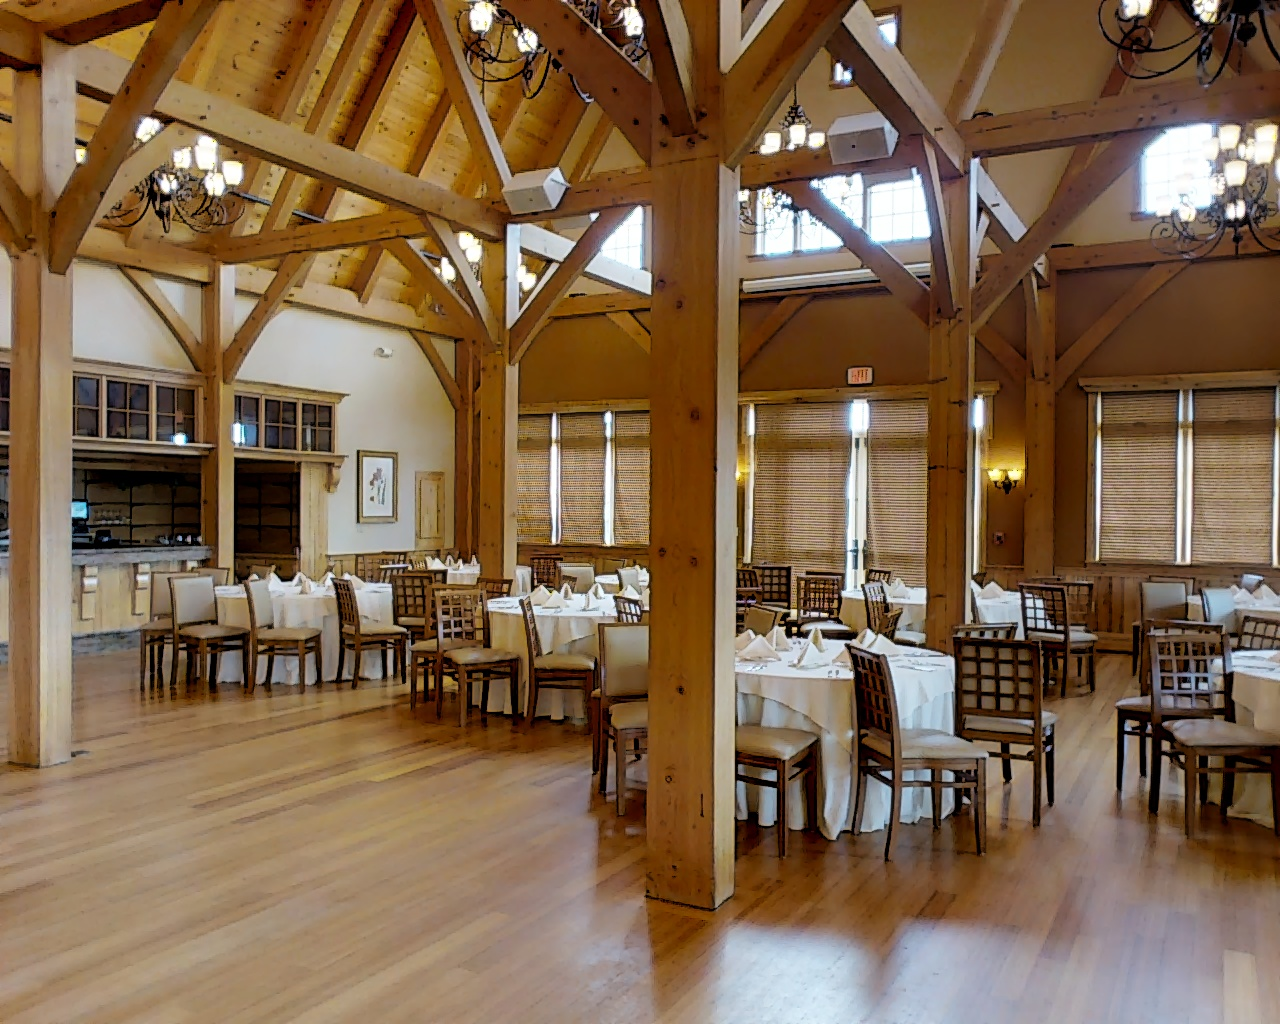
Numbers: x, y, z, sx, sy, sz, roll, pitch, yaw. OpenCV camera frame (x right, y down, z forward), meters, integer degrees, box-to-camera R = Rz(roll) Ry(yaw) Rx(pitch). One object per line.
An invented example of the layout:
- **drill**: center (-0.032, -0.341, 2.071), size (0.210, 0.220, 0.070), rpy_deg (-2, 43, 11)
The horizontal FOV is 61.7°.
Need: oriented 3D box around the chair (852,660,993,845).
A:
- **chair**: center (1.320, 1.110, 5.040), size (0.470, 0.750, 0.430), rpy_deg (1, 1, -17)
